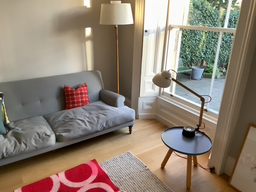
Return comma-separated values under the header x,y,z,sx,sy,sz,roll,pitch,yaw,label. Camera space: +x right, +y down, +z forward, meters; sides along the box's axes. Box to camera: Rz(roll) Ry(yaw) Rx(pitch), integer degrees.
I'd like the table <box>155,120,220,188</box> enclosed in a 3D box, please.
x,y,z,sx,sy,sz,roll,pitch,yaw,label
0.620,0.580,2.250,0.450,0.410,0.440,-17,28,-39,table

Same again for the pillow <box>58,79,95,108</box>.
x,y,z,sx,sy,sz,roll,pitch,yaw,label
-0.740,-0.040,3.060,0.420,0.310,0.150,-15,-4,-30,pillow
